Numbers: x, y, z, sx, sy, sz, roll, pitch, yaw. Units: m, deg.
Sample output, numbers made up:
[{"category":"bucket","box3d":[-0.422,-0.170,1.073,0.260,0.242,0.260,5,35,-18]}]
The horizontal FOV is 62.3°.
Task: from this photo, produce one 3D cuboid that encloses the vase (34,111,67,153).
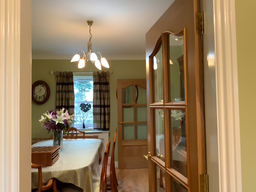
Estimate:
[{"category":"vase","box3d":[-1.030,0.470,2.850,0.360,0.510,0.300,-1,-2,-5]}]
